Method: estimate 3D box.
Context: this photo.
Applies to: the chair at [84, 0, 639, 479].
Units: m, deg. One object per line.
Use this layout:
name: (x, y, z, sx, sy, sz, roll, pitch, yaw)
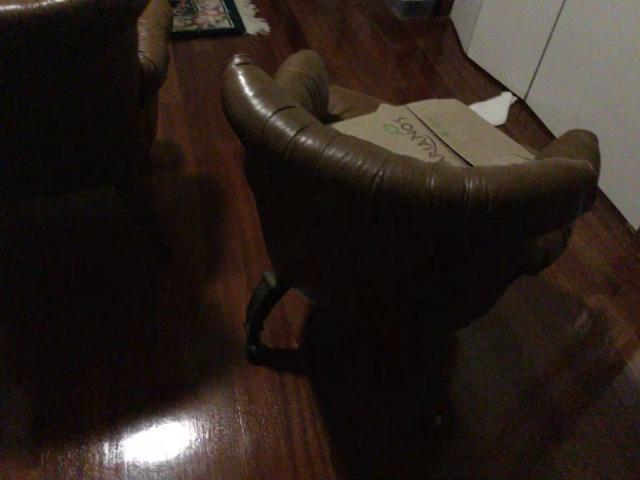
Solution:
chair: (0.160, -0.070, 1.230, 0.750, 0.770, 0.830, 24, 48, 14)
